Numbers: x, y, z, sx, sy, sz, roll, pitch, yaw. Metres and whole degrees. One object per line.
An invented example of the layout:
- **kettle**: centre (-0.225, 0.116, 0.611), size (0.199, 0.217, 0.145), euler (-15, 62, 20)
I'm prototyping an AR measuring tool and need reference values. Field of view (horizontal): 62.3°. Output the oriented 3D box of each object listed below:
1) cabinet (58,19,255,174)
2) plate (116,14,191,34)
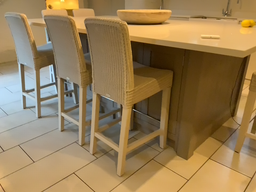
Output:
- **cabinet**: centre (0.250, -0.260, 2.230), size (1.790, 0.890, 1.030), euler (22, 32, 39)
- **plate**: centre (0.230, -0.670, 1.930), size (0.470, 0.110, 0.480), euler (22, 32, 39)
